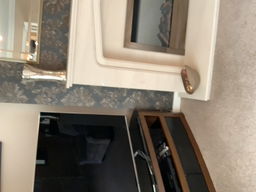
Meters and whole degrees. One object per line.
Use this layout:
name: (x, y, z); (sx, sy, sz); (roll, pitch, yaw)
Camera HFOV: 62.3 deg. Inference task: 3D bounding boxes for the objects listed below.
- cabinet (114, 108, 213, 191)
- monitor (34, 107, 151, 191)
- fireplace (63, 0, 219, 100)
cabinet: (0.280, 0.840, 1.930); (0.820, 0.460, 1.200); (117, 149, -47)
monitor: (-0.230, 0.640, 1.520); (0.060, 0.810, 1.290); (117, 149, -47)
fireplace: (0.080, -0.720, 1.810); (0.690, 1.100, 1.410); (-168, 82, -69)
